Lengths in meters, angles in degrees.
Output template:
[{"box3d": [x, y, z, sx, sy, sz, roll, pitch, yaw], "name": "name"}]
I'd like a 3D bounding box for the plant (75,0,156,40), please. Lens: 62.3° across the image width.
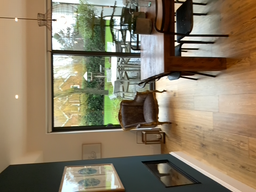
[{"box3d": [-0.180, -1.010, 2.730, 0.470, 0.960, 0.390, 175, 95, -77], "name": "plant"}]
